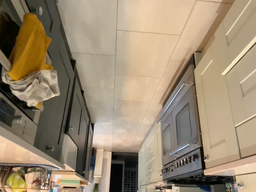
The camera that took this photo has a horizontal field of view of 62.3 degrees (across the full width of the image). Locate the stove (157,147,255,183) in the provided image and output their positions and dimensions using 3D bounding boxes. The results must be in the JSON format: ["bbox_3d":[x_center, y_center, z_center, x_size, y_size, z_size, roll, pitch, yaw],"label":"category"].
[{"bbox_3d":[0.680,0.640,1.840,0.630,0.160,1.080,3,155,-4],"label":"stove"}]
